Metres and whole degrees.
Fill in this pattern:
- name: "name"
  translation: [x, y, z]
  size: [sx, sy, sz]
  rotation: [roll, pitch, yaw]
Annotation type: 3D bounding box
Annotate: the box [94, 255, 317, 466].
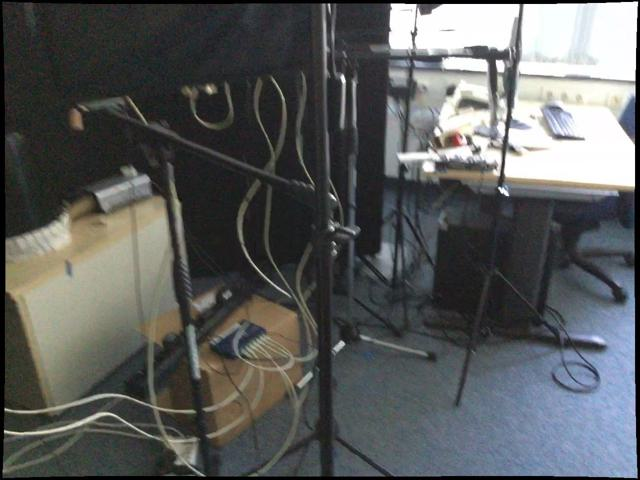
- name: "box"
  translation: [-0.350, 0.370, 1.970]
  size: [0.500, 0.340, 0.540]
  rotation: [11, 31, 20]
